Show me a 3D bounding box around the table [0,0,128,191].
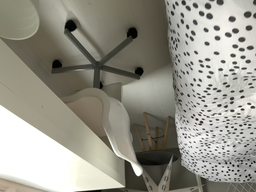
[{"bbox_3d":[-0.400,-0.020,1.130,0.490,0.780,1.330,-9,147,9],"label":"table"}]

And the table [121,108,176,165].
[{"bbox_3d":[0.230,0.450,2.270,0.490,0.410,0.490,-8,148,10],"label":"table"}]
